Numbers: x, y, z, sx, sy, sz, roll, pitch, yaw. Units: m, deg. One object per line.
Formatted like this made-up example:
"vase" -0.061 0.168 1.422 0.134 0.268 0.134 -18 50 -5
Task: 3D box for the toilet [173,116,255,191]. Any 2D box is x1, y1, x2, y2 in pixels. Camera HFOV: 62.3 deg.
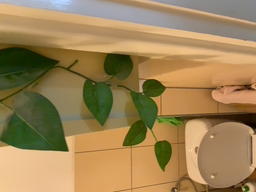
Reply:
"toilet" 0.780 0.330 1.190 0.650 0.800 0.370 178 92 -67
